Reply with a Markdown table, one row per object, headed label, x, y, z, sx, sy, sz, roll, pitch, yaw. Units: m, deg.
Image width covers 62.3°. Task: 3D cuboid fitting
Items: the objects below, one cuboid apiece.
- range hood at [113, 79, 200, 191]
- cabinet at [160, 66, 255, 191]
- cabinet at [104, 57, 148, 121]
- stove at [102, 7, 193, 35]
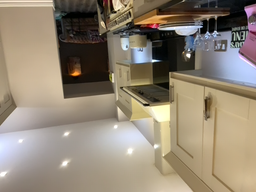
| label | x | y | z | sx | sy | sz | roll | pitch | yaw |
| --- | --- | --- | --- | --- | --- | --- | --- | --- | --- |
| range hood | 0.290 | 0.410 | 2.680 | 0.630 | 1.070 | 1.080 | -7 | -166 | -16 |
| cabinet | 0.640 | 0.290 | 1.560 | 0.350 | 0.900 | 1.110 | -7 | -166 | -15 |
| cabinet | -0.070 | -0.190 | 3.730 | 0.440 | 0.900 | 1.090 | -7 | -166 | -15 |
| stove | 0.130 | -0.810 | 2.370 | 0.640 | 0.150 | 1.100 | -7 | -166 | -15 |
